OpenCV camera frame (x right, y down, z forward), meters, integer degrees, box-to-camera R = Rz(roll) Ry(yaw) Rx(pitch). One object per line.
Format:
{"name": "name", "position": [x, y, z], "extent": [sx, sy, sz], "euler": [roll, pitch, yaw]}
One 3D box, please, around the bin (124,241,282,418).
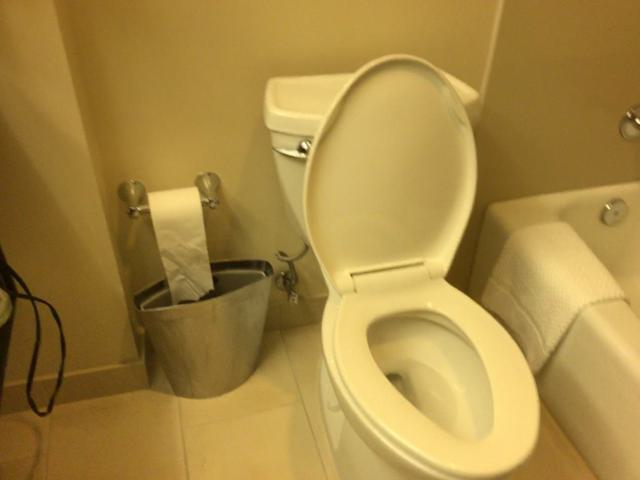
{"name": "bin", "position": [-0.280, 0.220, 1.430], "extent": [0.330, 0.340, 0.190], "euler": [-9, 37, -13]}

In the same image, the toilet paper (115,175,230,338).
{"name": "toilet paper", "position": [-0.330, 0.040, 1.320], "extent": [0.200, 0.320, 0.150], "euler": [-9, 37, -13]}
